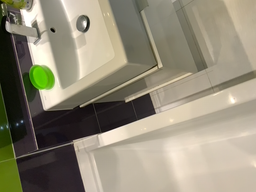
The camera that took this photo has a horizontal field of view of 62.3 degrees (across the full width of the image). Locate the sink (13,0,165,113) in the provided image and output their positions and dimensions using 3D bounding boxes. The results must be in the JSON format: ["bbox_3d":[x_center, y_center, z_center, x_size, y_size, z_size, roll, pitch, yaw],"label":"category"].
[{"bbox_3d":[-0.200,-0.300,0.840,0.480,0.200,0.600,-25,78,35],"label":"sink"}]
